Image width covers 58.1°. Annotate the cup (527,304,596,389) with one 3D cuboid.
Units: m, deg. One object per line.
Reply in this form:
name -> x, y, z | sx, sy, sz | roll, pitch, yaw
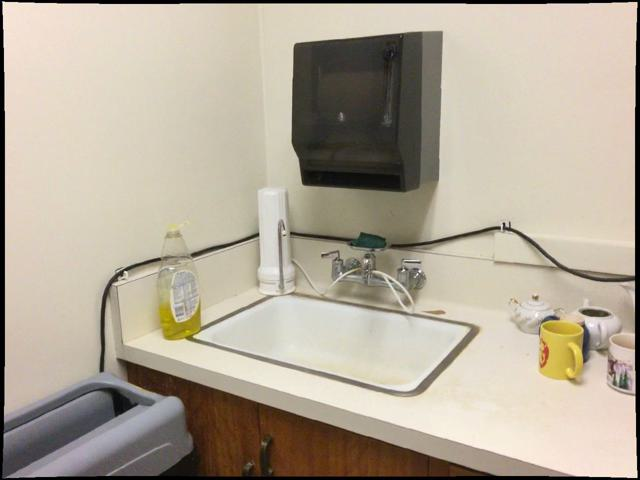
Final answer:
cup -> 0.519, 0.221, 1.230 | 0.100, 0.100, 0.190 | 6, 15, 31
